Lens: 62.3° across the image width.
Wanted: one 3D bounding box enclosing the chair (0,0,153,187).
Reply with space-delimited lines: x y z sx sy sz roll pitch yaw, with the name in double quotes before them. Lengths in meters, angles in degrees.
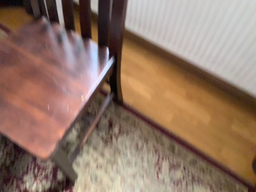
"chair" -0.280 -0.160 0.760 0.470 1.090 0.590 30 61 12
